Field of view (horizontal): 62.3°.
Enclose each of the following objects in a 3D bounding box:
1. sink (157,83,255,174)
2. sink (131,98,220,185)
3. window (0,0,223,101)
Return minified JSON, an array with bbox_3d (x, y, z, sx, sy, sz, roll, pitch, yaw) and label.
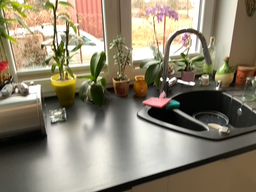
[{"bbox_3d":[0.480,0.130,1.210,0.400,0.190,0.560,-9,24,-19],"label":"sink"},{"bbox_3d":[0.200,0.190,1.060,0.240,0.190,0.410,-9,24,-19],"label":"sink"},{"bbox_3d":[-0.080,-0.770,1.210,1.410,1.480,0.160,-7,24,-14],"label":"window"}]
